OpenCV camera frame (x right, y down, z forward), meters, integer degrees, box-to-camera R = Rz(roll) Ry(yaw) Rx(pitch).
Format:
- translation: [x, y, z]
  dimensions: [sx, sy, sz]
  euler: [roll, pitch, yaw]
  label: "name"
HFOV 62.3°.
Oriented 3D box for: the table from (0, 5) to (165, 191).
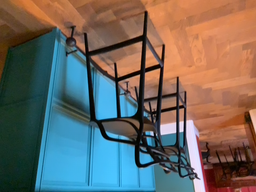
- translation: [-0.280, 0.390, 2.090]
  dimensions: [0.610, 1.100, 2.150]
  euler: [-13, 154, 21]
  label: "table"
